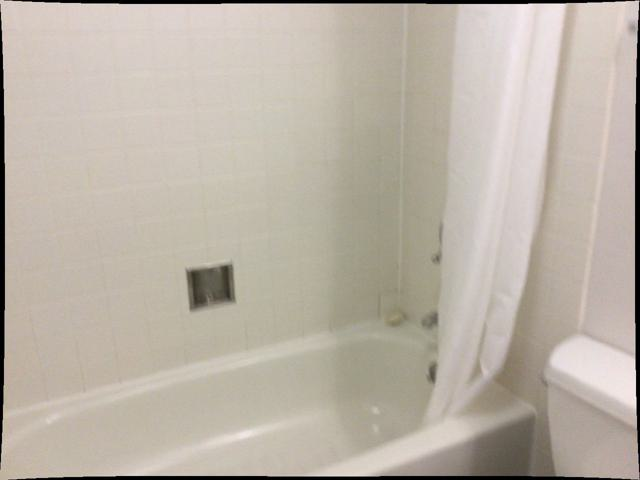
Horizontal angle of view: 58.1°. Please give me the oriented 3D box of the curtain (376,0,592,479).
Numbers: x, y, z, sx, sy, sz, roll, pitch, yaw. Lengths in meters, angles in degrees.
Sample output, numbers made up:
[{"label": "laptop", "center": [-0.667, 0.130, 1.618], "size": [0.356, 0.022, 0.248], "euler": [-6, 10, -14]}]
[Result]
[{"label": "curtain", "center": [0.399, -0.270, 1.510], "size": [0.370, 1.943, 0.330], "euler": [-10, 22, -23]}]

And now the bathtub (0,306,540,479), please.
[{"label": "bathtub", "center": [-0.200, 0.691, 1.750], "size": [1.478, 0.401, 0.770], "euler": [-11, 22, -23]}]
